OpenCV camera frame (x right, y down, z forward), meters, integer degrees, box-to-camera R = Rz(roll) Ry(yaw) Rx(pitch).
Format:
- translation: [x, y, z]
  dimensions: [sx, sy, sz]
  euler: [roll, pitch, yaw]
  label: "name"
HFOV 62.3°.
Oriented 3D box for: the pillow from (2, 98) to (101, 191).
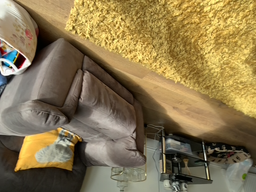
- translation: [-0.560, 0.400, 1.670]
  dimensions: [0.190, 0.460, 0.600]
  euler: [-8, 116, 43]
  label: "pillow"
